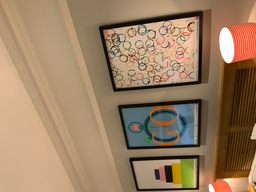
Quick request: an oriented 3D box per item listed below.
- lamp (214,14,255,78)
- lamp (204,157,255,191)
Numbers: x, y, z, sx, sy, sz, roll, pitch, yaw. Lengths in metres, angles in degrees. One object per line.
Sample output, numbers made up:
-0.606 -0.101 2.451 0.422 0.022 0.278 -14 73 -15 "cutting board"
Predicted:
0.920 -0.380 1.550 0.380 0.450 0.310 -82 -16 -55 "lamp"
1.240 1.080 2.660 0.450 0.460 0.370 -81 -17 -56 "lamp"
